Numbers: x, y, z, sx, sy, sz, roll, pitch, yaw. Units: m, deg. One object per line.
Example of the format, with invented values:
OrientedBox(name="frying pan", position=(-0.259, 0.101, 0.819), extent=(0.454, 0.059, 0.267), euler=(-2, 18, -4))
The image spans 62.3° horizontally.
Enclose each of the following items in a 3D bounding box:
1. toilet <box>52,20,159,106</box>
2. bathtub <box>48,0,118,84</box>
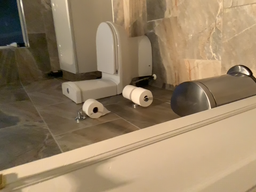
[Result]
OrientedBox(name="toilet", position=(-0.170, -0.330, 1.870), extent=(0.400, 0.790, 0.600), euler=(21, 119, 56))
OrientedBox(name="bathtub", position=(-0.590, -1.100, 2.560), extent=(0.680, 0.550, 1.750), euler=(21, 119, 56))
